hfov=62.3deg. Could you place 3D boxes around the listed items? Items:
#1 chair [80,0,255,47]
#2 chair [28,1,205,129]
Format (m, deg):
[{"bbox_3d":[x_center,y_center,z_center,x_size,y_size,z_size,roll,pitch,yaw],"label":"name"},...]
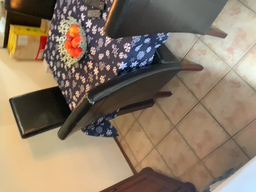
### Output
[{"bbox_3d":[0.270,-0.640,1.160,0.530,1.090,0.430,56,132,26],"label":"chair"},{"bbox_3d":[-0.040,-0.230,1.560,0.590,1.090,0.430,56,132,26],"label":"chair"}]
